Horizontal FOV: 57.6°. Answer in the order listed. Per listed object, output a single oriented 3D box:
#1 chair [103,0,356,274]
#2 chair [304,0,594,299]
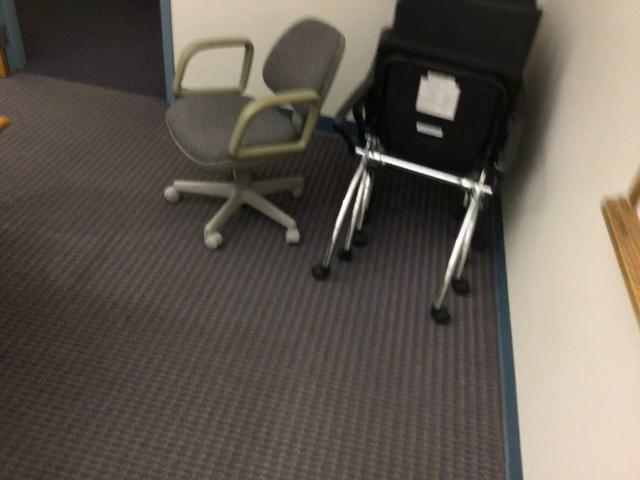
[{"bbox_3d":[-0.310,-0.430,2.200,0.690,0.760,0.620,13,35,5],"label":"chair"},{"bbox_3d":[0.420,-0.530,2.170,0.630,0.910,1.070,13,35,5],"label":"chair"}]
